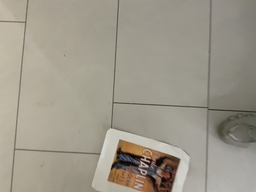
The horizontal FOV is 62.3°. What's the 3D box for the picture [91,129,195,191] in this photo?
[{"bbox_3d":[0.050,0.250,0.700,0.290,0.030,0.200,17,87,1],"label":"picture"}]
